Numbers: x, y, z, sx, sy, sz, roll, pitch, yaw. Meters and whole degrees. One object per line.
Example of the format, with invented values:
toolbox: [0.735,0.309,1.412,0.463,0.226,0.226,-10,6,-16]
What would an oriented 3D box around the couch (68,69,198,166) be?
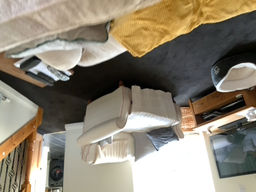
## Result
couch: [0.040,0.440,3.010,1.350,0.900,1.110,15,149,-39]
